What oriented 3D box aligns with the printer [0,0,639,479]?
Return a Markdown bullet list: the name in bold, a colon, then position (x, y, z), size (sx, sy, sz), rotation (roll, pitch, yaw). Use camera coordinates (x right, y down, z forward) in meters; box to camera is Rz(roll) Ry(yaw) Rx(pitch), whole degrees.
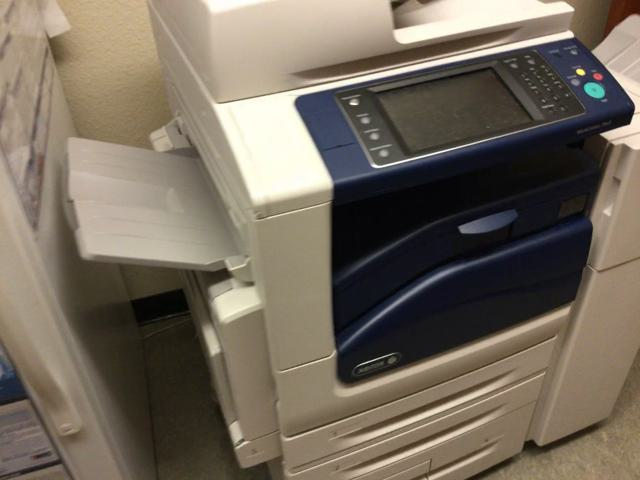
- **printer**: position (0.180, -0.020, 1.210), size (1.150, 1.130, 0.690), rotation (-13, 38, -10)
